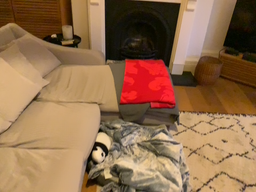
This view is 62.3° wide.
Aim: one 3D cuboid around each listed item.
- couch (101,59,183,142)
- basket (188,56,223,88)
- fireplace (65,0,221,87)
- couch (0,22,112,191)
[{"bbox_3d":[0.110,0.000,2.150,0.660,0.410,0.820,4,32,-1],"label":"couch"},{"bbox_3d":[1.030,-0.330,2.870,0.300,0.300,0.330,4,32,-1],"label":"basket"},{"bbox_3d":[0.130,-0.810,2.690,1.630,1.170,0.590,3,32,-2],"label":"fireplace"},{"bbox_3d":[-0.760,0.150,1.500,1.070,0.730,2.140,4,32,-1],"label":"couch"}]
